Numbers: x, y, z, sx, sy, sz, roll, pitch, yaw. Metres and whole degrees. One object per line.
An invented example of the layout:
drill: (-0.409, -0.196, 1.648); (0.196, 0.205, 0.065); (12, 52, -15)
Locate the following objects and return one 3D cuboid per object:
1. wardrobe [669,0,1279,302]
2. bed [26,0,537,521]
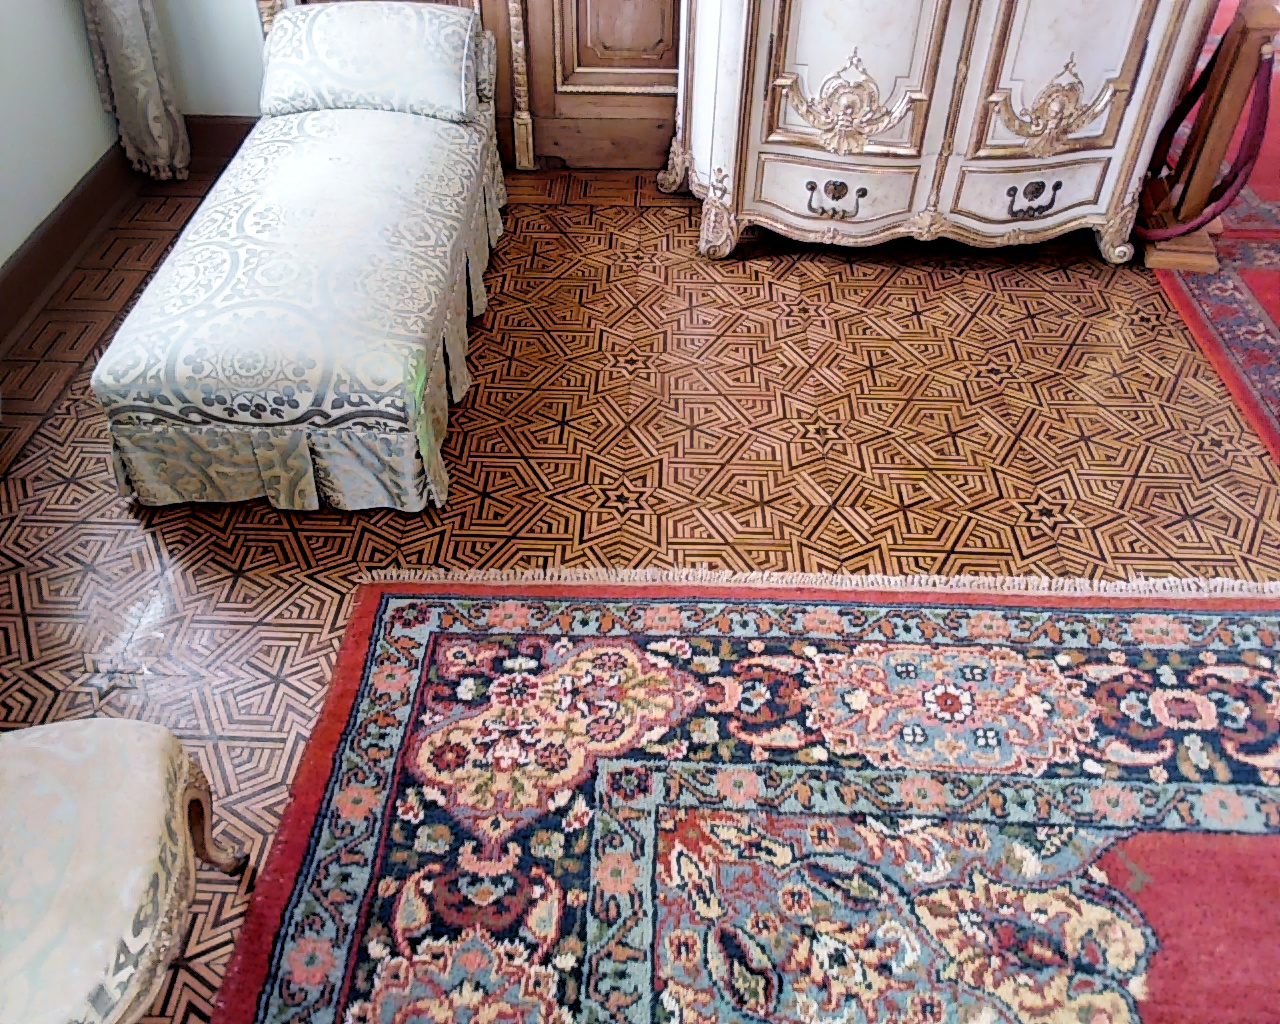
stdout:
wardrobe: (0.930, -1.931, 2.700); (1.650, 2.750, 0.700); (2, 42, 2)
bed: (-0.790, -0.830, 2.990); (0.780, 0.690, 1.760); (1, 42, 1)
